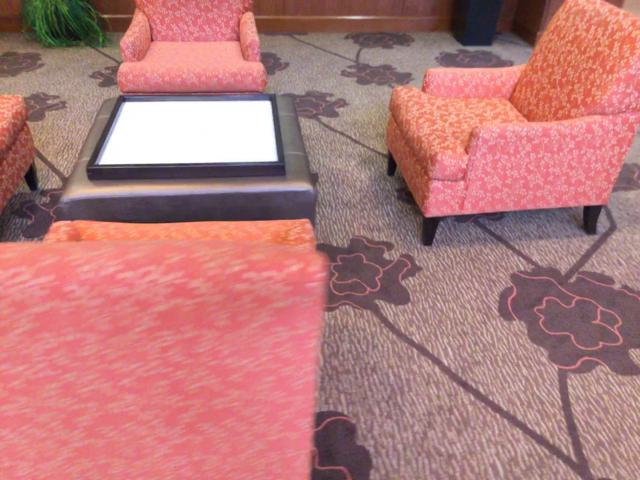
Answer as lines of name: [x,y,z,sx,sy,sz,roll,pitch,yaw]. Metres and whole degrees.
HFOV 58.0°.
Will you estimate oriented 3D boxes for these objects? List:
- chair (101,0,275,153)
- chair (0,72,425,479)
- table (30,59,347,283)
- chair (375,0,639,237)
chair: [-0.670,-1.110,3.120,0.770,0.960,0.900,1,31,-9]
chair: [-0.330,0.180,1.440,0.790,0.890,0.920,1,31,-9]
table: [-0.500,-0.320,2.410,1.020,0.460,0.940,4,34,-11]
chair: [0.780,-0.590,2.450,0.840,0.870,0.750,1,31,-9]
